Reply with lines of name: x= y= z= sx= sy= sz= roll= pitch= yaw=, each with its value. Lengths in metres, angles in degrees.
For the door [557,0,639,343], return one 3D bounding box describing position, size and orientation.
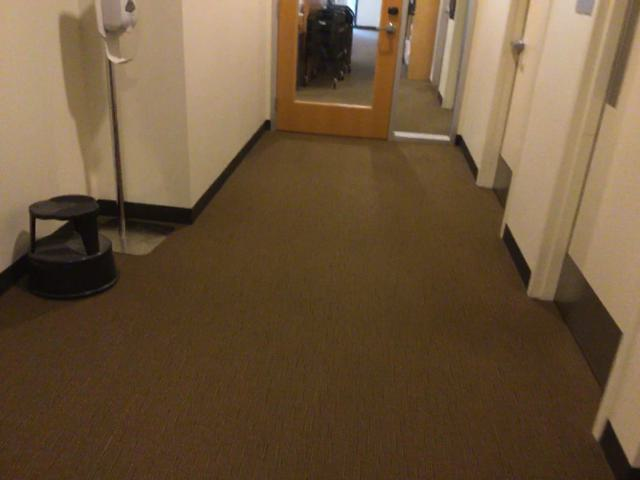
door: x=1.090 y=-0.570 z=1.920 sx=0.050 sy=1.740 sz=0.610 roll=5 pitch=22 yaw=3
